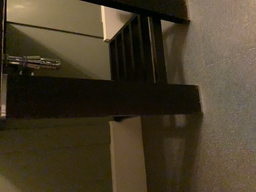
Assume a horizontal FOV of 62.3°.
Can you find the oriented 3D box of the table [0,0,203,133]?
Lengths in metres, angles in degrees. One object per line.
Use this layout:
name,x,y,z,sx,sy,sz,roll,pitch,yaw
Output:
table,-0.160,-0.150,0.890,0.480,0.720,0.540,-20,72,59
